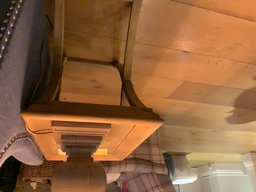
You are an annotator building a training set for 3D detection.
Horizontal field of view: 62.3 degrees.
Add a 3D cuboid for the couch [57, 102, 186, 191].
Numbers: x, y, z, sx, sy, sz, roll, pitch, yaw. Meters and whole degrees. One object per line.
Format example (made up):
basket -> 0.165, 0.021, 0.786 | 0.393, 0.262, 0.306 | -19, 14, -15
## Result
couch -> -0.140, 0.710, 2.170 | 1.050, 0.920, 0.900 | 6, 153, -15
